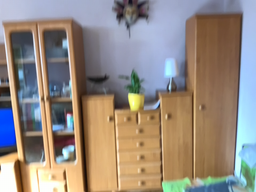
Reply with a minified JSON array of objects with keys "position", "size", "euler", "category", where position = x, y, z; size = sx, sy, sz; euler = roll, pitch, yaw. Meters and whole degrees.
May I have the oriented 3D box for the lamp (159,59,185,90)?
[{"position":[0.510,-0.260,2.500],"size":[0.260,0.350,0.250],"euler":[-1,10,1],"category":"lamp"}]
